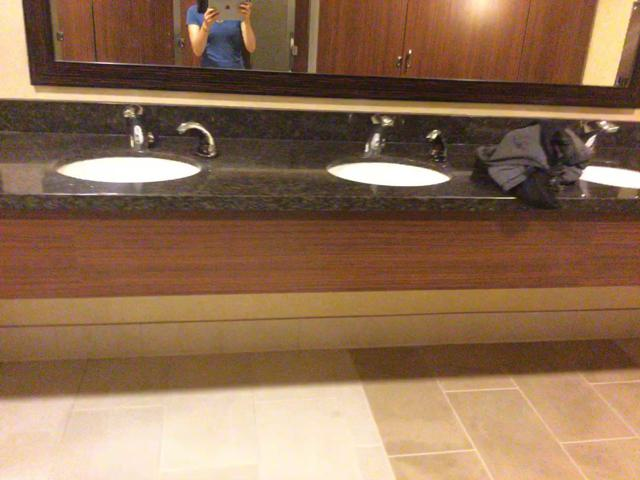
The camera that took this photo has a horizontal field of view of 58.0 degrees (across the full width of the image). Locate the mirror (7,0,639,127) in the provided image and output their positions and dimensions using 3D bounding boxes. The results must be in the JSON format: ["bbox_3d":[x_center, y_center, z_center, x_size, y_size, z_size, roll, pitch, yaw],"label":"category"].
[{"bbox_3d":[0.150,-0.710,1.880,2.140,0.570,0.140,1,21,-9],"label":"mirror"}]

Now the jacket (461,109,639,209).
[{"bbox_3d":[0.650,-0.240,1.650,0.360,0.200,0.340,1,21,-9],"label":"jacket"}]

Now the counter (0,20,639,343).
[{"bbox_3d":[0.150,-0.210,1.750,4.350,0.700,0.790,1,21,-9],"label":"counter"}]
